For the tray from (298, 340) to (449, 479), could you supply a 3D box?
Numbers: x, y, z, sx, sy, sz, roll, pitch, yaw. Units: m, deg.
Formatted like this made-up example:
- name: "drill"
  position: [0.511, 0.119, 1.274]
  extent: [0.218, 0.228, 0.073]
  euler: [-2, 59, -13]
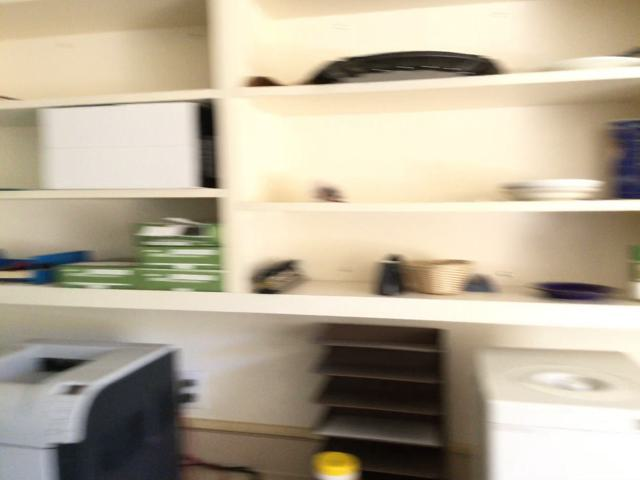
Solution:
- name: "tray"
  position: [0.140, 0.470, 1.450]
  extent: [0.340, 0.370, 0.220]
  euler: [2, 3, 14]

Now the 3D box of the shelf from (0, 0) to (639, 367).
- name: "shelf"
  position: [-0.150, -0.220, 1.380]
  extent: [2.030, 0.810, 0.440]
  euler: [2, 3, 14]

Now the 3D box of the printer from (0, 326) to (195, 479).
- name: "printer"
  position: [-0.640, 0.470, 1.360]
  extent: [0.510, 0.410, 0.490]
  euler: [2, 3, 14]
